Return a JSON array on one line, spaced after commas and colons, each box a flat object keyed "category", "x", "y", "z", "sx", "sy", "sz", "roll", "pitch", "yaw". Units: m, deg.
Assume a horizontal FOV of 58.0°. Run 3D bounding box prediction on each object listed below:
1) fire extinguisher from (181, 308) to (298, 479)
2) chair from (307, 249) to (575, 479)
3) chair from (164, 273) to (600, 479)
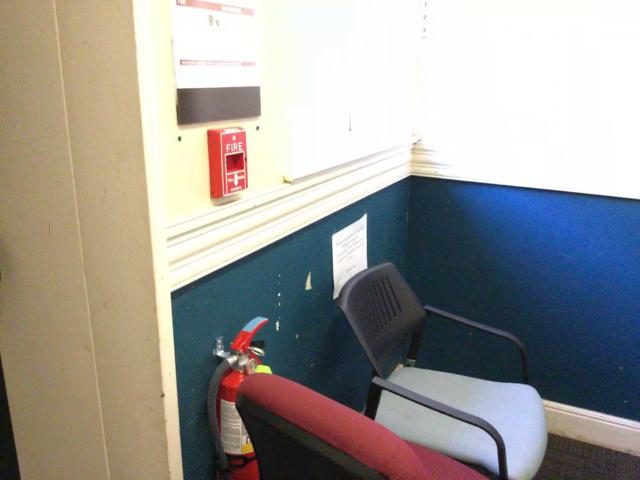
[{"category": "fire extinguisher", "x": -0.170, "y": 0.430, "z": 1.320, "sx": 0.140, "sy": 0.480, "sz": 0.230, "roll": 8, "pitch": 17, "yaw": 26}, {"category": "chair", "x": 0.370, "y": 0.550, "z": 1.720, "sx": 0.580, "sy": 0.850, "sz": 0.630, "roll": 8, "pitch": 17, "yaw": 26}, {"category": "chair", "x": 0.120, "y": 0.640, "z": 1.260, "sx": 0.650, "sy": 0.910, "sz": 0.560, "roll": -13, "pitch": 20, "yaw": -38}]
